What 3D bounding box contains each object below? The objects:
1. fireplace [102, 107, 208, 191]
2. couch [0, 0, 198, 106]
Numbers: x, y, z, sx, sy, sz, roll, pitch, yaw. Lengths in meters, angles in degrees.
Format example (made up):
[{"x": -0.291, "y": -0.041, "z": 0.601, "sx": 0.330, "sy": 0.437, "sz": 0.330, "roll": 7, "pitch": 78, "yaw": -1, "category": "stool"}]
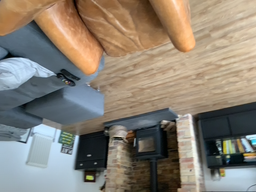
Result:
[{"x": 0.390, "y": 1.190, "z": 3.730, "sx": 1.740, "sy": 1.570, "sz": 0.530, "roll": -17, "pitch": 148, "yaw": 34, "category": "fireplace"}, {"x": -0.110, "y": -0.520, "z": 1.140, "sx": 0.670, "sy": 0.800, "sz": 0.820, "roll": -13, "pitch": 151, "yaw": 27, "category": "couch"}]
